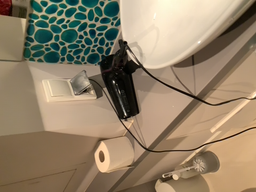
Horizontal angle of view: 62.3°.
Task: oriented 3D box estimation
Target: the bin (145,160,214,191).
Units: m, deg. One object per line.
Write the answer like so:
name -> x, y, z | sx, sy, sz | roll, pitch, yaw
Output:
bin -> 0.340, 0.620, 1.390 | 0.220, 0.320, 0.260 | -57, 48, 40
